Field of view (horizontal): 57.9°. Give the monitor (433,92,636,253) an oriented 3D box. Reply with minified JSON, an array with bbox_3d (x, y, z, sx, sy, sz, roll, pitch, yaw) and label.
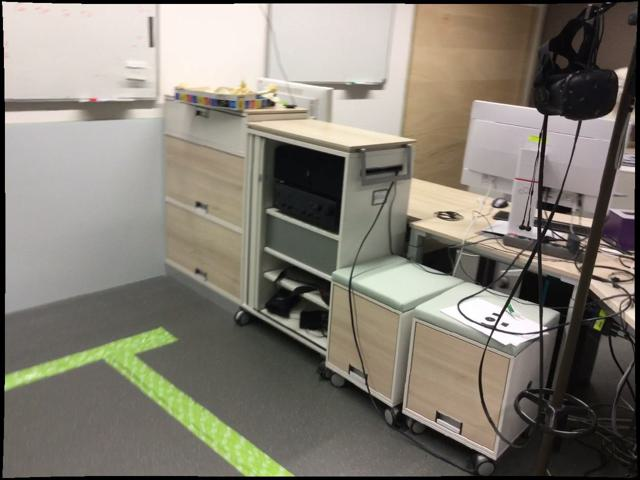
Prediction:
[{"bbox_3d":[0.859,-0.310,2.410,0.680,0.530,0.250,17,25,37],"label":"monitor"}]

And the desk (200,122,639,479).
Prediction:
[{"bbox_3d":[1.039,0.070,3.020,1.629,0.821,3.509,-16,26,-40],"label":"desk"}]

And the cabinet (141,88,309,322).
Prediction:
[{"bbox_3d":[-0.549,-0.260,3.360,0.550,1.131,0.810,-16,26,-40],"label":"cabinet"}]

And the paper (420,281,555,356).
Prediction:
[{"bbox_3d":[0.579,0.260,2.020,0.270,0.060,0.360,-16,26,-40],"label":"paper"}]

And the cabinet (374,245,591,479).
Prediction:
[{"bbox_3d":[0.609,0.450,2.250,0.540,0.641,0.540,-16,26,-40],"label":"cabinet"}]

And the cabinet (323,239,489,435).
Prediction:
[{"bbox_3d":[0.360,0.380,2.490,0.520,0.581,0.440,-16,26,-40],"label":"cabinet"}]
